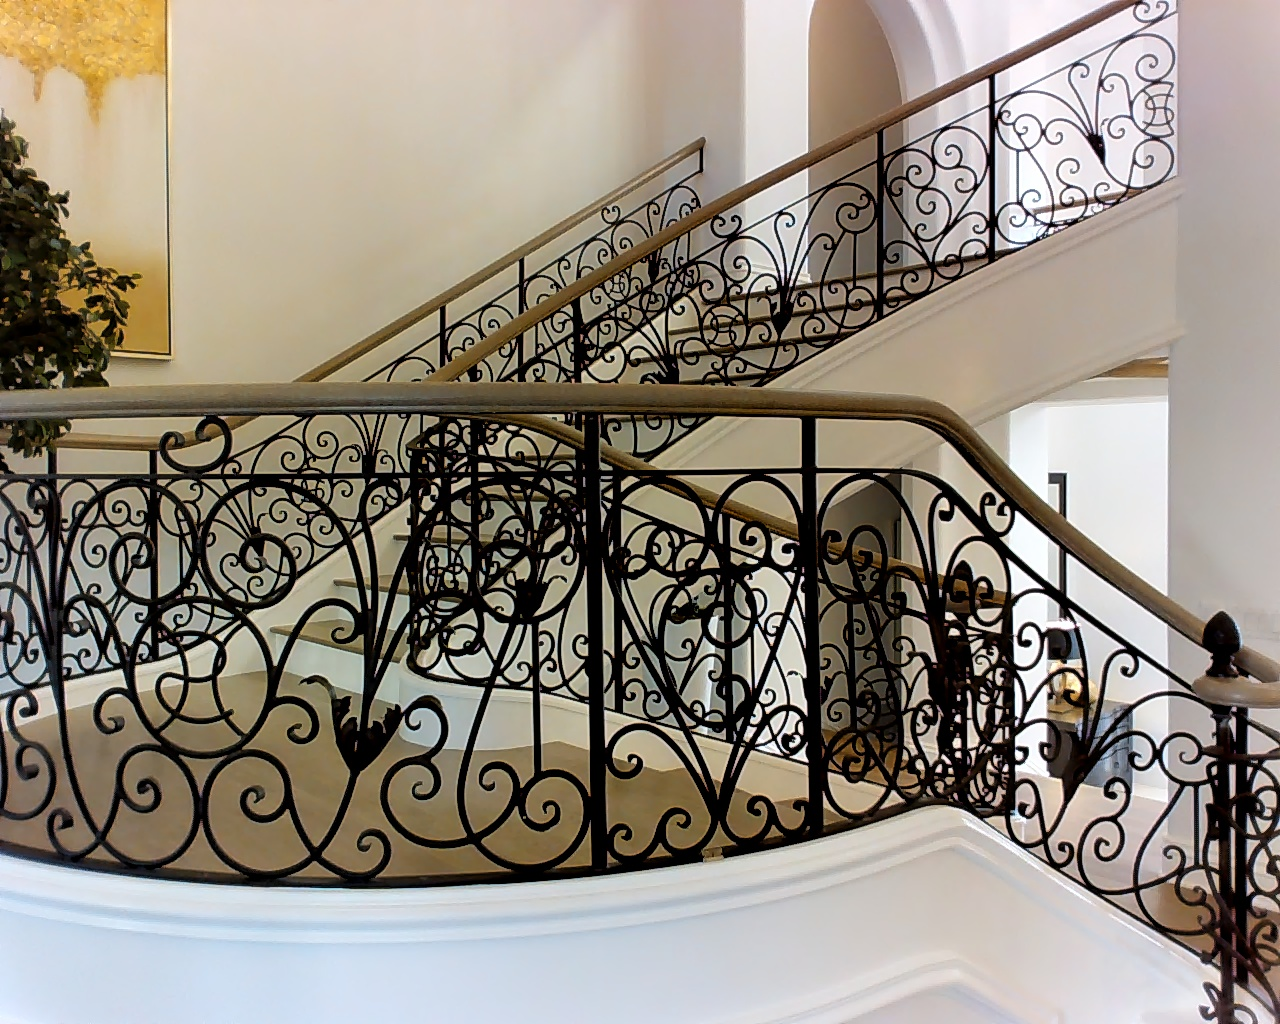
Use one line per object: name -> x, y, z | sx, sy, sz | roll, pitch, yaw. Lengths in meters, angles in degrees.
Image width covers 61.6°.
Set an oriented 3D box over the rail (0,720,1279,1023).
rail -> 0.080, 1.080, 2.170 | 2.879, 0.960, 0.720 | -1, 1, -20
